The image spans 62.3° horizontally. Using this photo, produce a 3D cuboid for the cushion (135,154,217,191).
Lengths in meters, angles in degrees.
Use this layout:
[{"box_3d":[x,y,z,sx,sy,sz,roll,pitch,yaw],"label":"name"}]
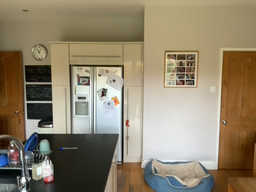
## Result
[{"box_3d":[0.640,1.130,3.180,1.050,0.200,0.790,1,6,1],"label":"cushion"}]
